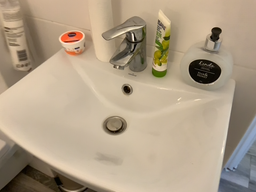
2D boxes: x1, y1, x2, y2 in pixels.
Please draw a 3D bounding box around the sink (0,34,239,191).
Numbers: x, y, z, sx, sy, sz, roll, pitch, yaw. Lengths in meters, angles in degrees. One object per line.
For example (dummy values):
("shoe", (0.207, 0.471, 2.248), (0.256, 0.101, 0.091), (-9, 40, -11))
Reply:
("sink", (-0.040, 0.050, 0.540), (0.520, 0.150, 0.380), (19, 47, 18))
